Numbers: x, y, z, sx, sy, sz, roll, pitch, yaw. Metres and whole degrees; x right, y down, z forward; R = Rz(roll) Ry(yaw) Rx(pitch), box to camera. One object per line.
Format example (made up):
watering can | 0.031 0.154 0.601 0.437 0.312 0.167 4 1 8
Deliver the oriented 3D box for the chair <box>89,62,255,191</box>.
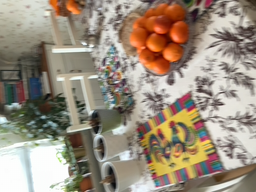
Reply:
chair | 0.400 0.190 0.990 0.440 0.970 0.480 -50 52 46

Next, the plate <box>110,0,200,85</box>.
plate | 0.080 -0.230 0.820 0.260 0.140 0.280 -46 56 49

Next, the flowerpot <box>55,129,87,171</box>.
flowerpot | -0.570 0.530 2.100 0.200 0.200 0.330 -45 56 49
